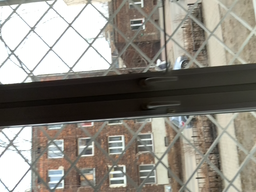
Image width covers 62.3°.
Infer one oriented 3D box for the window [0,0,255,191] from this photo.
[{"bbox_3d":[-0.100,0.270,0.900,0.080,1.510,1.870,72,-166,-78],"label":"window"}]
